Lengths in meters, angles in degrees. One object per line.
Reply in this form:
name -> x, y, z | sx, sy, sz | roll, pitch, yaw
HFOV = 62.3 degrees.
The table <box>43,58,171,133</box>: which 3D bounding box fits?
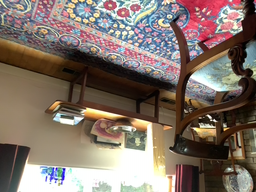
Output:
table -> -0.180, 0.070, 2.450 | 1.370, 0.440, 0.470 | 16, 156, -30
